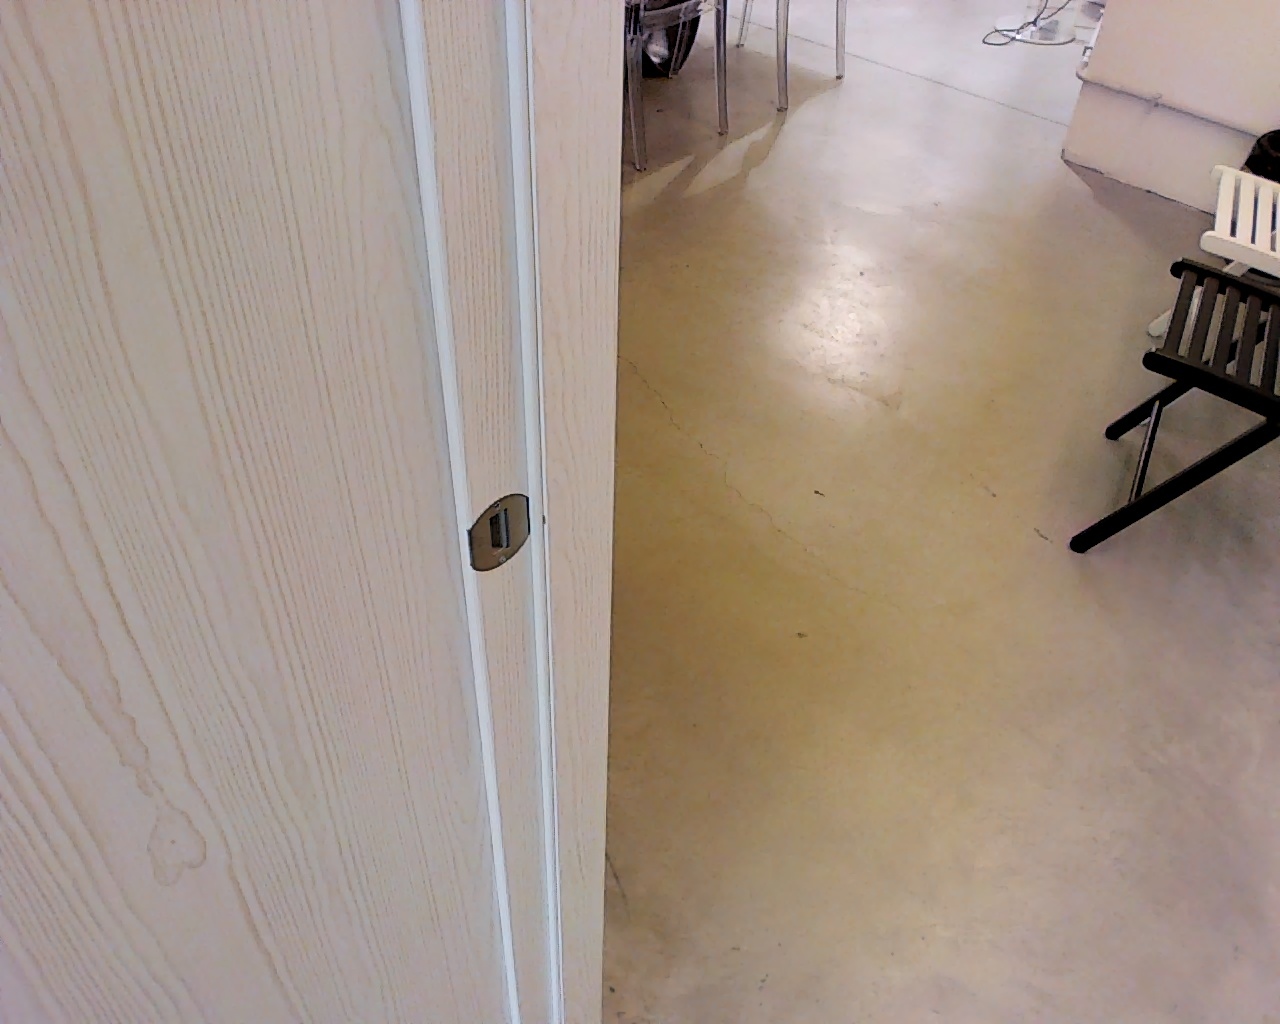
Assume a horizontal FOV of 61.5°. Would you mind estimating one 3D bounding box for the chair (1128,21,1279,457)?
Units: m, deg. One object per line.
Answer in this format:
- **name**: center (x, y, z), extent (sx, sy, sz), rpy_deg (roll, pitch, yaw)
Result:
- **chair**: center (1.449, -0.550, 2.290), extent (0.510, 0.740, 0.450), rpy_deg (18, 45, 16)
